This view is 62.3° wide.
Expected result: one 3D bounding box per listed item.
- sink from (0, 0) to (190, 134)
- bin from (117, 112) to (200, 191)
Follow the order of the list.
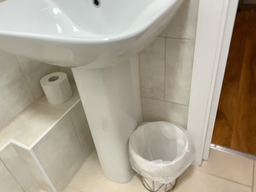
[{"bbox_3d":[-0.160,-0.190,0.660,0.580,0.210,0.440,13,42,24],"label":"sink"},{"bbox_3d":[0.150,0.290,1.000,0.280,0.260,0.260,15,42,25],"label":"bin"}]
